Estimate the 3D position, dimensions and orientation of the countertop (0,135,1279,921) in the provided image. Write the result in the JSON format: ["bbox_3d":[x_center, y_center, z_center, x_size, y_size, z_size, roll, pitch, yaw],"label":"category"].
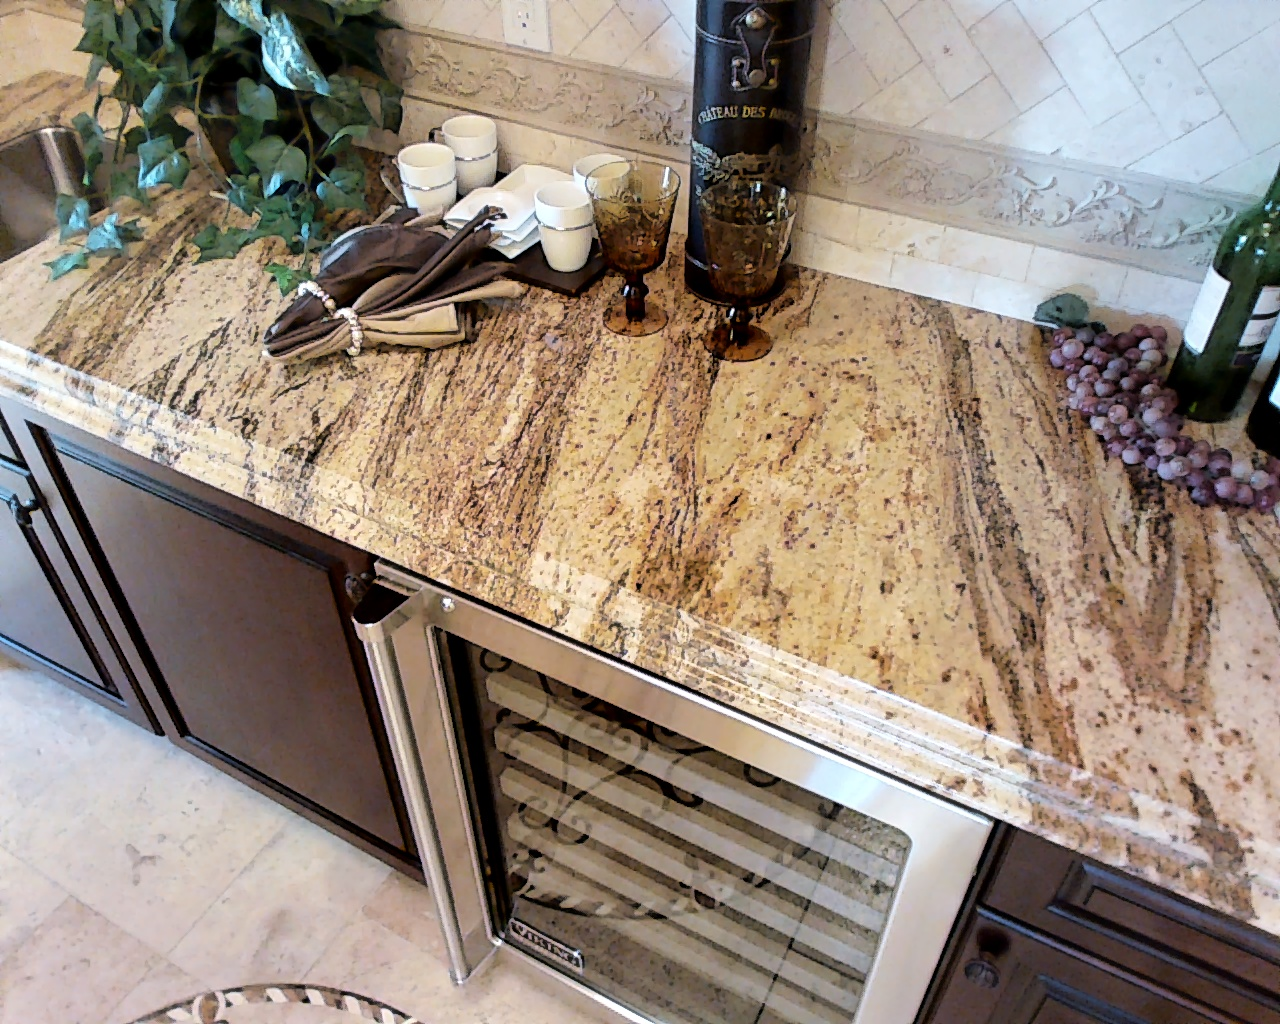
[{"bbox_3d":[-0.180,-0.110,1.140,2.421,0.050,0.370,20,47,21],"label":"countertop"}]
